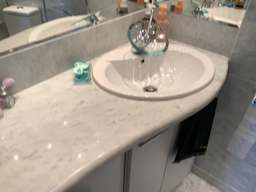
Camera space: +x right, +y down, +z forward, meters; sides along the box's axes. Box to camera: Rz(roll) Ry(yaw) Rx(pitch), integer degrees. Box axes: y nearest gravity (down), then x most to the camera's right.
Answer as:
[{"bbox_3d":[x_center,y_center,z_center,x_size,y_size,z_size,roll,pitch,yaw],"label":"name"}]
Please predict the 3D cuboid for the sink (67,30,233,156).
[{"bbox_3d":[0.120,-0.090,0.980,0.470,0.170,0.590,29,44,29],"label":"sink"}]
